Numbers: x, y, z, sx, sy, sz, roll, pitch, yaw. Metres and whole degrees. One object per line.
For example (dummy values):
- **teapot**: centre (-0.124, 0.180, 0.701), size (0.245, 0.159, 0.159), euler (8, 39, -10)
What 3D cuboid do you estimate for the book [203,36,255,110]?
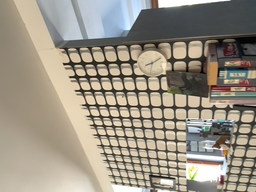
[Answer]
- **book**: centre (0.580, -0.130, 1.230), size (0.210, 0.250, 0.360), euler (-69, -25, -51)
